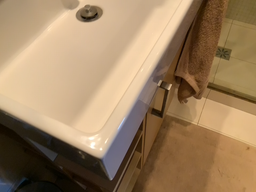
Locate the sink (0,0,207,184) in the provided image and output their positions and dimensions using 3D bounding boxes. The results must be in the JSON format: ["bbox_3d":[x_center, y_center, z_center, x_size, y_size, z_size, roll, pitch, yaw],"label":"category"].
[{"bbox_3d":[-0.020,-0.210,0.460,0.330,0.140,0.650,21,60,15],"label":"sink"}]
